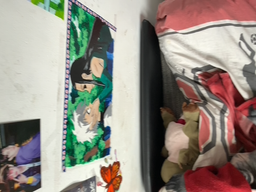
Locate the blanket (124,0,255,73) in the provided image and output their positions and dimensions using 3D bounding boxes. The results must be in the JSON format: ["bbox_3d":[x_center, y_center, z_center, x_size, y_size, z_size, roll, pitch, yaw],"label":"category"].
[{"bbox_3d":[0.470,-0.350,0.810,0.910,0.210,0.490,9,91,26],"label":"blanket"}]
